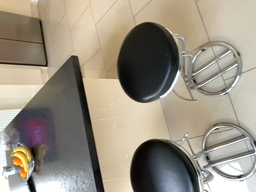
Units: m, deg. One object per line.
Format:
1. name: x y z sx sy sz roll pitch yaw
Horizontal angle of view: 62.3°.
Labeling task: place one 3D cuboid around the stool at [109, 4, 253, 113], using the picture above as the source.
1. stool: 0.320 -0.160 1.190 0.360 0.710 0.360 -29 71 45
